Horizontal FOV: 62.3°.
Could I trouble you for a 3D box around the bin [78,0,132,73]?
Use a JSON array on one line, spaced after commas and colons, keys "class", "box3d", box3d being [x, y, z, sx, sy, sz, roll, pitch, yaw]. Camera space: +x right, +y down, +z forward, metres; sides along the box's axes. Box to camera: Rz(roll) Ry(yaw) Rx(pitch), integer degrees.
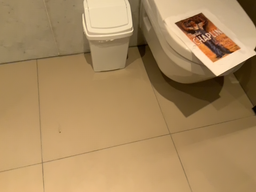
[{"class": "bin", "box3d": [-0.120, -0.310, 1.070, 0.210, 0.360, 0.180, -9, 60, -11]}]
